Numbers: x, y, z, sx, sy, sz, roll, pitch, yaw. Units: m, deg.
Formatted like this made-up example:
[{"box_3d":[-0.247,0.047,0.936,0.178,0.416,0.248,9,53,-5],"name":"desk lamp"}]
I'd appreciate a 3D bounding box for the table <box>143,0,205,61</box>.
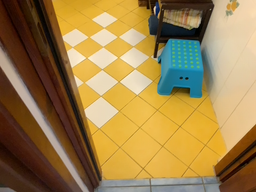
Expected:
[{"box_3d":[0.360,-0.780,1.950,0.360,0.480,0.790,-1,54,-2],"name":"table"}]
